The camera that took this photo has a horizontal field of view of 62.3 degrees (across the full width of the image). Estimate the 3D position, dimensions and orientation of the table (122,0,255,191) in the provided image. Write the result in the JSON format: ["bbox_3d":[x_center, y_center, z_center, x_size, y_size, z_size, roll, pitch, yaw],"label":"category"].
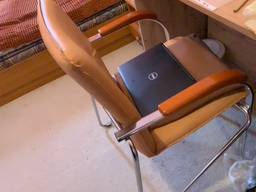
[{"bbox_3d":[0.520,-0.180,0.930,0.590,0.740,1.250,-27,46,-7],"label":"table"}]
